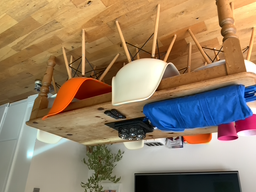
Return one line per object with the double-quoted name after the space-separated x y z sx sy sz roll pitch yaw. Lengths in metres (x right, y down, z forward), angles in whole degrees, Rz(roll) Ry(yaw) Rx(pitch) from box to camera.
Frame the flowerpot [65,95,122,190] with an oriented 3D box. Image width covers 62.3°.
-0.480 0.710 3.240 0.550 1.290 0.460 -13 150 29 "flowerpot"
